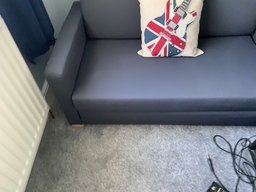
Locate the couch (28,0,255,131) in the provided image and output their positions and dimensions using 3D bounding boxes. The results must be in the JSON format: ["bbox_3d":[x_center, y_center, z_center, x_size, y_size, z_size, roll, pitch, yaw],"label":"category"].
[{"bbox_3d":[0.280,-0.280,1.410,1.390,0.700,0.780,0,53,3],"label":"couch"}]
